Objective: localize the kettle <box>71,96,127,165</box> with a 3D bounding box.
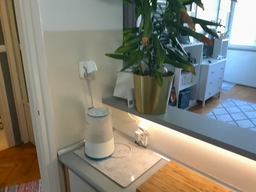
[{"bbox_3d":[-0.150,0.170,1.130,0.210,0.250,0.200,19,27,41],"label":"kettle"}]
